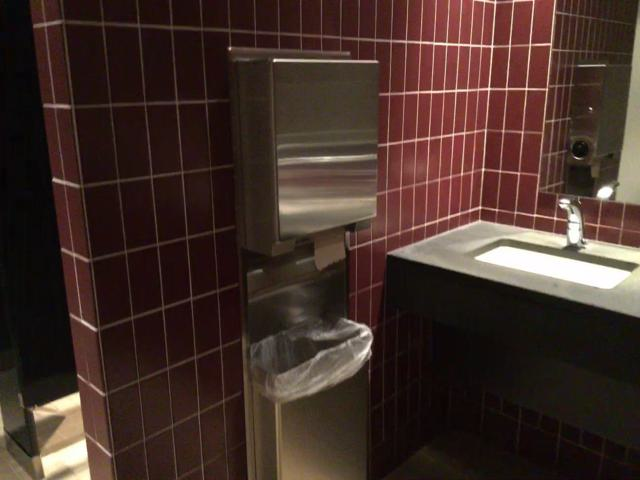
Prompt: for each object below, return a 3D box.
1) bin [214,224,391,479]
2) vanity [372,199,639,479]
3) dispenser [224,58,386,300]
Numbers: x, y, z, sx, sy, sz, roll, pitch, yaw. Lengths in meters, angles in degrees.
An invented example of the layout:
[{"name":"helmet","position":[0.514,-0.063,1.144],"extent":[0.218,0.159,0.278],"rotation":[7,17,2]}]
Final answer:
[{"name":"bin","position":[-0.030,0.430,1.730],"extent":[0.250,0.860,0.450],"rotation":[13,20,42]},{"name":"vanity","position":[1.010,0.380,1.630],"extent":[1.690,0.710,0.630],"rotation":[13,20,42]},{"name":"dispenser","position":[-0.020,-0.180,1.530],"extent":[0.160,0.560,0.420],"rotation":[13,20,42]}]
